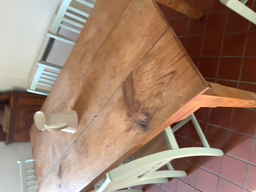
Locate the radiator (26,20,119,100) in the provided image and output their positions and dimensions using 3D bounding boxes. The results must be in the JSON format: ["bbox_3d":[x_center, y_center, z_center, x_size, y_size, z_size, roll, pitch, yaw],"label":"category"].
[{"bbox_3d":[-0.670,-0.320,2.440,1.040,0.680,0.160,-46,54,38],"label":"radiator"}]

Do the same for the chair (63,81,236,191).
[{"bbox_3d":[0.140,0.280,1.270,0.400,0.850,0.520,-46,53,38],"label":"chair"}]

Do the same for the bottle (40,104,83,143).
[{"bbox_3d":[-0.420,0.170,1.320,0.170,0.180,0.170,-49,52,36],"label":"bottle"}]
